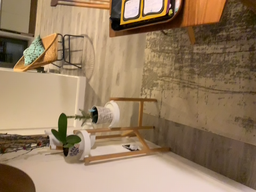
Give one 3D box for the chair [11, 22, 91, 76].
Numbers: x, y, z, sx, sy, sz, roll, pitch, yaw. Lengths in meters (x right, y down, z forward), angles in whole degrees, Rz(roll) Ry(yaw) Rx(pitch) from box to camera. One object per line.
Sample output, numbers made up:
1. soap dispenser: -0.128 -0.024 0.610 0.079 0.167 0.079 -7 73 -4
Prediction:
1. chair: -1.330 -0.700 3.490 1.410 0.820 0.610 11 97 53
